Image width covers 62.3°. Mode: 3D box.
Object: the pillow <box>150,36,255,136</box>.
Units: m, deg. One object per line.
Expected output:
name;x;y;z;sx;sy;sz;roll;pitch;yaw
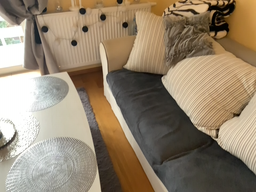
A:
pillow;0.600;-0.130;1.570;0.620;0.320;0.670;-11;39;-16
